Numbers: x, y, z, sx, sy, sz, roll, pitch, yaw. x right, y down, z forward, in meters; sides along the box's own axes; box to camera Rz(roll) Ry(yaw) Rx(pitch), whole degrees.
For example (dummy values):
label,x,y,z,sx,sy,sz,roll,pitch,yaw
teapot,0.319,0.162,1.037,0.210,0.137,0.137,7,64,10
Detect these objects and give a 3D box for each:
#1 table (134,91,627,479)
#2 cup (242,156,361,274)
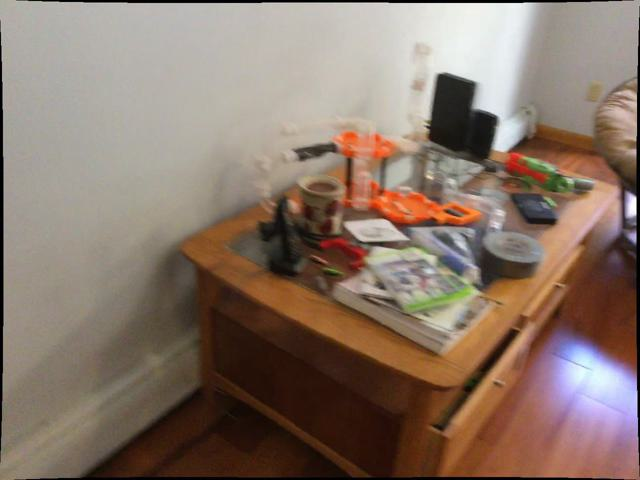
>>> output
label,x,y,z,sx,sy,sz,roll,pitch,yaw
table,0.260,0.070,1.760,0.850,0.590,1.280,24,37,28
cup,-0.050,-0.070,1.450,0.230,0.180,0.180,24,37,28
